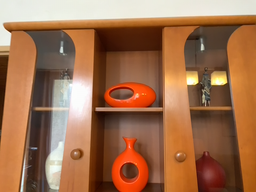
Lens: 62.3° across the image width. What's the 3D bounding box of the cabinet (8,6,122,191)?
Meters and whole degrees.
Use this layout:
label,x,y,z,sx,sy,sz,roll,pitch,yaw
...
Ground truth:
label,x,y,z,sx,sy,sz,roll,pitch,yaw
cabinet,-0.270,0.190,1.060,0.420,1.150,0.340,0,-9,6
